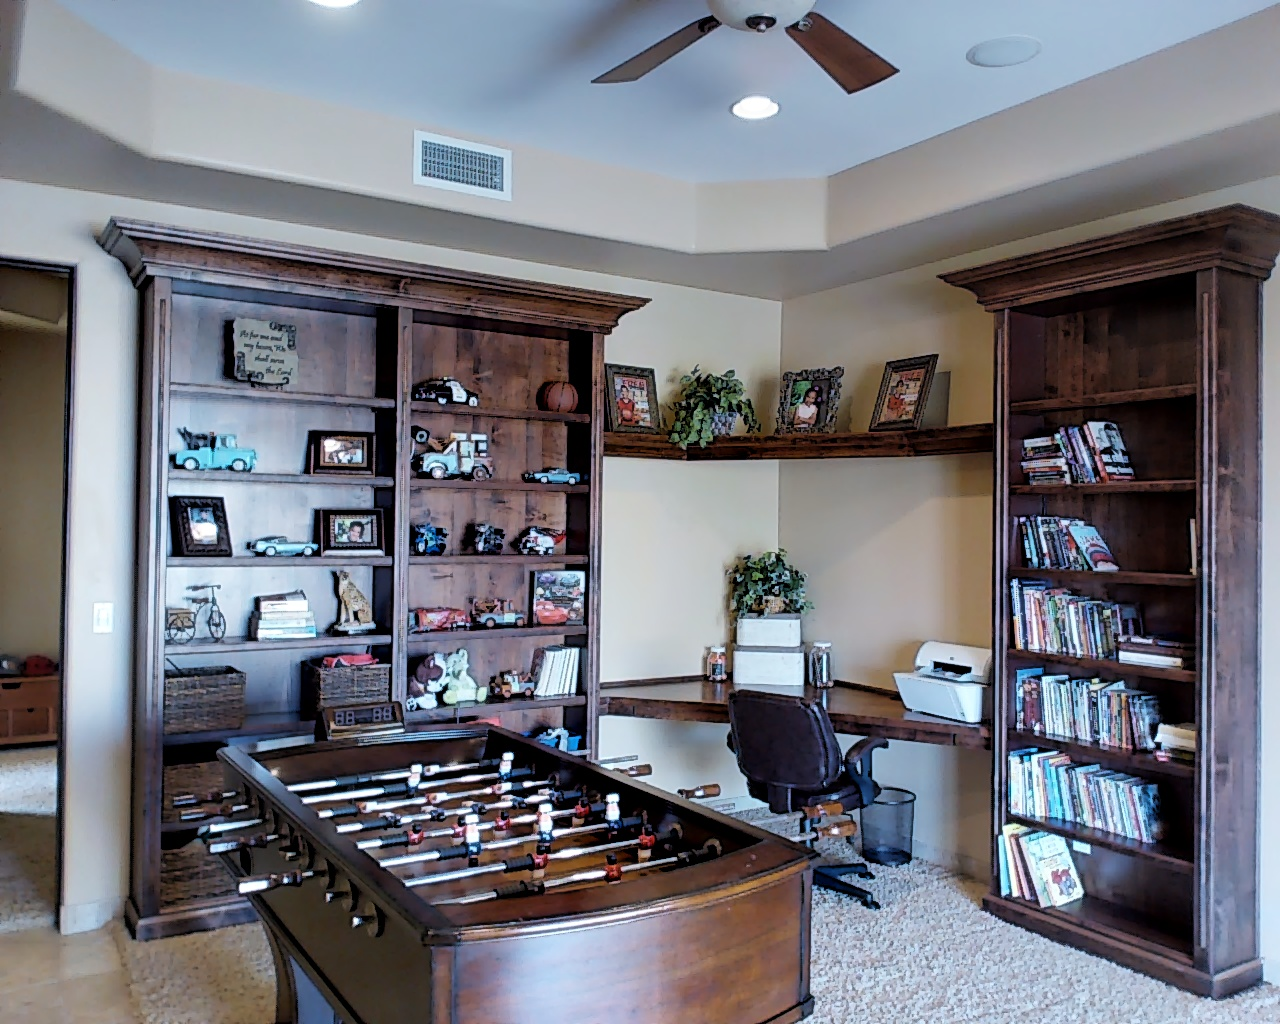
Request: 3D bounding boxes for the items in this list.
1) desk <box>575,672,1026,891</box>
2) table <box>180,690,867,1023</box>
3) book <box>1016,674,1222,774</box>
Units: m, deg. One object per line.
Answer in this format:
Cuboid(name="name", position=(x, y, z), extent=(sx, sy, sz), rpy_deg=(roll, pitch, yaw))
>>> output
Cuboid(name="desk", position=(0.760, 1.180, 4.960), extent=(1.940, 0.640, 0.830), rpy_deg=(1, -1, 20))
Cuboid(name="table", position=(-0.430, 1.050, 2.540), extent=(0.920, 0.940, 1.740), rpy_deg=(1, -1, -33))
Cuboid(name="book", position=(1.710, 0.750, 3.860), extent=(0.160, 0.230, 0.700), rpy_deg=(1, -1, -34))
